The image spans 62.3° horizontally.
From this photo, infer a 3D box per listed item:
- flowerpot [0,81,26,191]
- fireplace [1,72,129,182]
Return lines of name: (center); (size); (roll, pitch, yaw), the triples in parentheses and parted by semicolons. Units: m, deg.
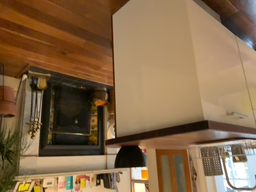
flowerpot: (-1.300, 0.440, 2.120); (0.310, 1.090, 0.440); (11, 158, -41)
fireplace: (-0.720, 0.450, 2.930); (1.640, 1.190, 0.290); (12, 158, -42)
